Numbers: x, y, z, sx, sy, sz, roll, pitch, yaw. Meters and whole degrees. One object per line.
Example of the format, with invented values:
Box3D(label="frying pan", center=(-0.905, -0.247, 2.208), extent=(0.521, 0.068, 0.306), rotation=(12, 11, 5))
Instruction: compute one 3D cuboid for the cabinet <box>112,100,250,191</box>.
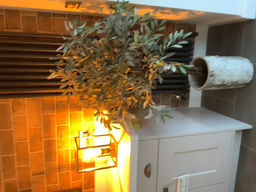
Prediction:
Box3D(label="cabinet", center=(0.370, 0.570, 1.780), extent=(0.610, 0.870, 0.920), rotation=(-150, 59, -68))
